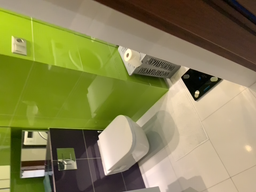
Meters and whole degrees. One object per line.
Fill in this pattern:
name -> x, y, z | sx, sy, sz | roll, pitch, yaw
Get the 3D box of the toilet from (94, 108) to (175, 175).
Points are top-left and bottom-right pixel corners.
toilet -> 0.040, 0.440, 2.020 | 0.540, 0.460, 0.370 | -49, 48, 35
